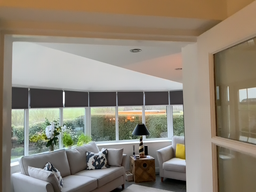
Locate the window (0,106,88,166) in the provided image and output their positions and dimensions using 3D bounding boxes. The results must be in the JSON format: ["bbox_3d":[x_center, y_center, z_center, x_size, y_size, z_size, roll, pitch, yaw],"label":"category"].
[{"bbox_3d":[-1.740,0.710,4.380,0.120,0.990,2.430,-2,-3,33],"label":"window"}]

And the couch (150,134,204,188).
[{"bbox_3d":[1.190,1.470,5.060,0.890,0.910,1.040,-2,-3,35],"label":"couch"}]

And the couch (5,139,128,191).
[{"bbox_3d":[-1.000,1.460,4.010,1.060,0.900,2.050,-2,-3,33],"label":"couch"}]
